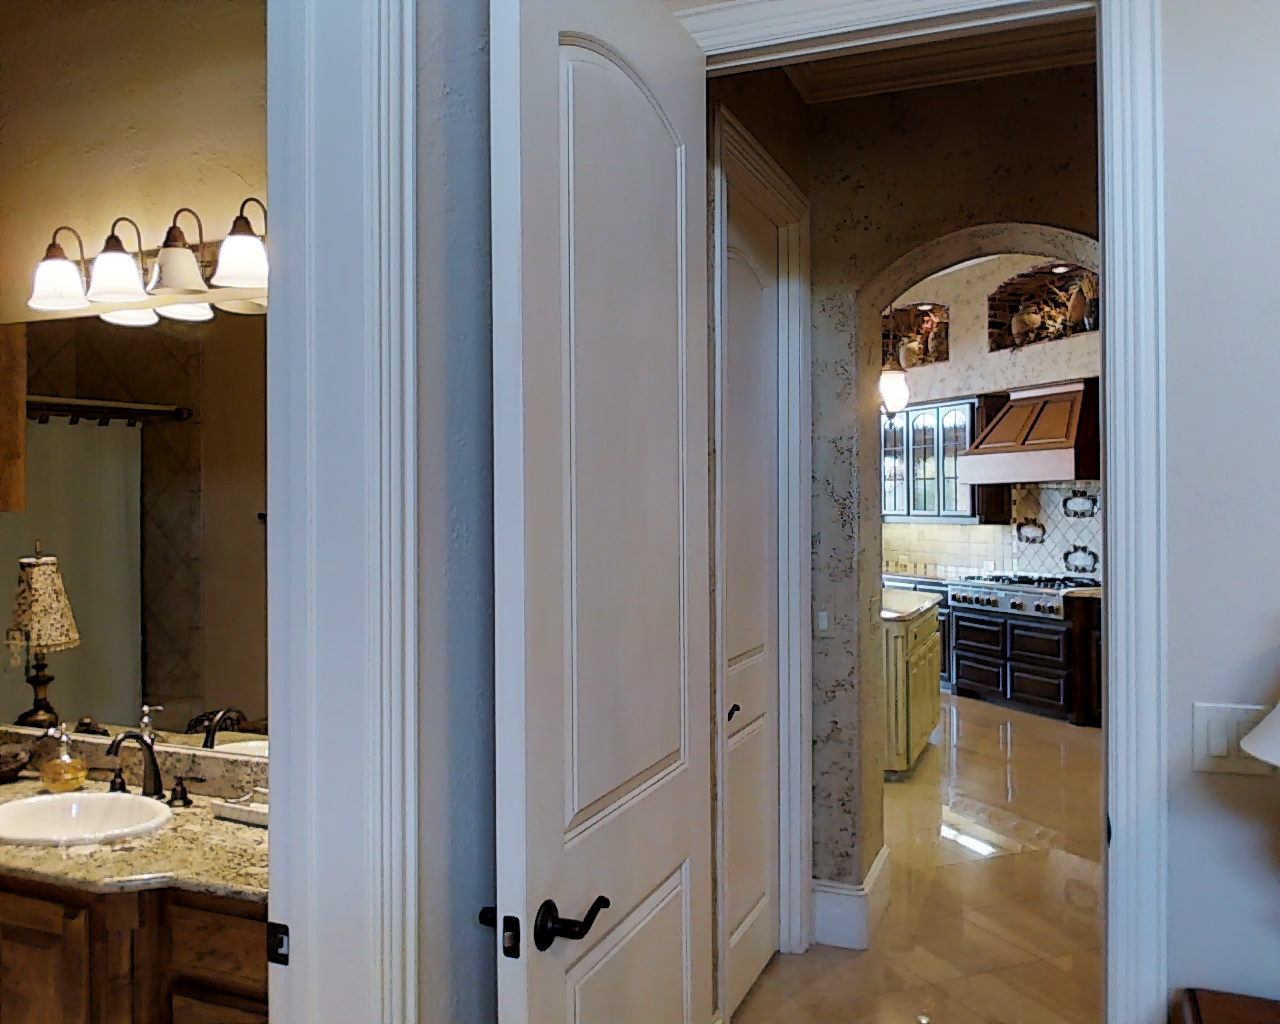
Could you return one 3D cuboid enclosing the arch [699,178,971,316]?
[{"bbox_3d":[0.640,-0.890,3.750,0.540,0.230,0.890,-1,0,-22],"label":"arch"}]
